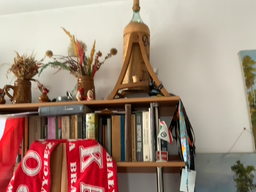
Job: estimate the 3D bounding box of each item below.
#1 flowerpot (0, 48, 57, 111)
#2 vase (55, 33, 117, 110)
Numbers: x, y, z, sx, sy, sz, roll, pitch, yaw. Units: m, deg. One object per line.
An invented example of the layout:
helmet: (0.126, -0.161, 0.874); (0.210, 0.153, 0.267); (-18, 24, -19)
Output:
flowerpot: (-0.510, -0.080, 1.110); (0.190, 0.280, 0.150); (-4, -15, 14)
vase: (-0.190, -0.110, 1.050); (0.240, 0.320, 0.190); (-3, -15, 9)
